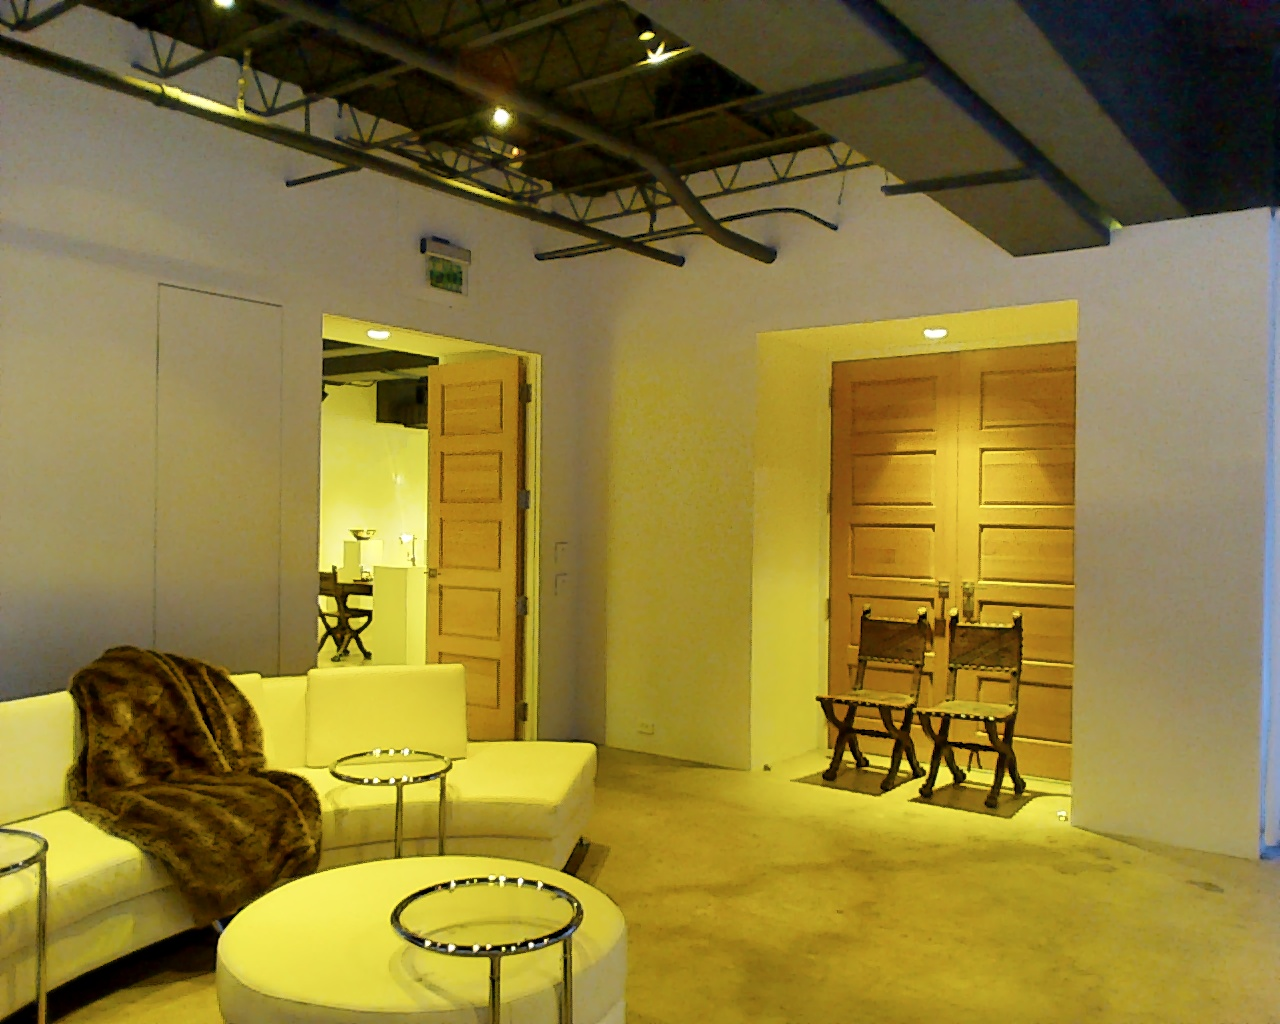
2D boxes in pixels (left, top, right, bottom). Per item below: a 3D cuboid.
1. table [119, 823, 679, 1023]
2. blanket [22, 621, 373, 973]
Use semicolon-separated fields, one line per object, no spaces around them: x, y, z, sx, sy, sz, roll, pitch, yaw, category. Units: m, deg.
-0.520;1.210;2.740;1.040;0.460;1.030;1;0;14;table
-1.620;0.910;3.860;0.750;0.890;1.230;1;0;-45;blanket
